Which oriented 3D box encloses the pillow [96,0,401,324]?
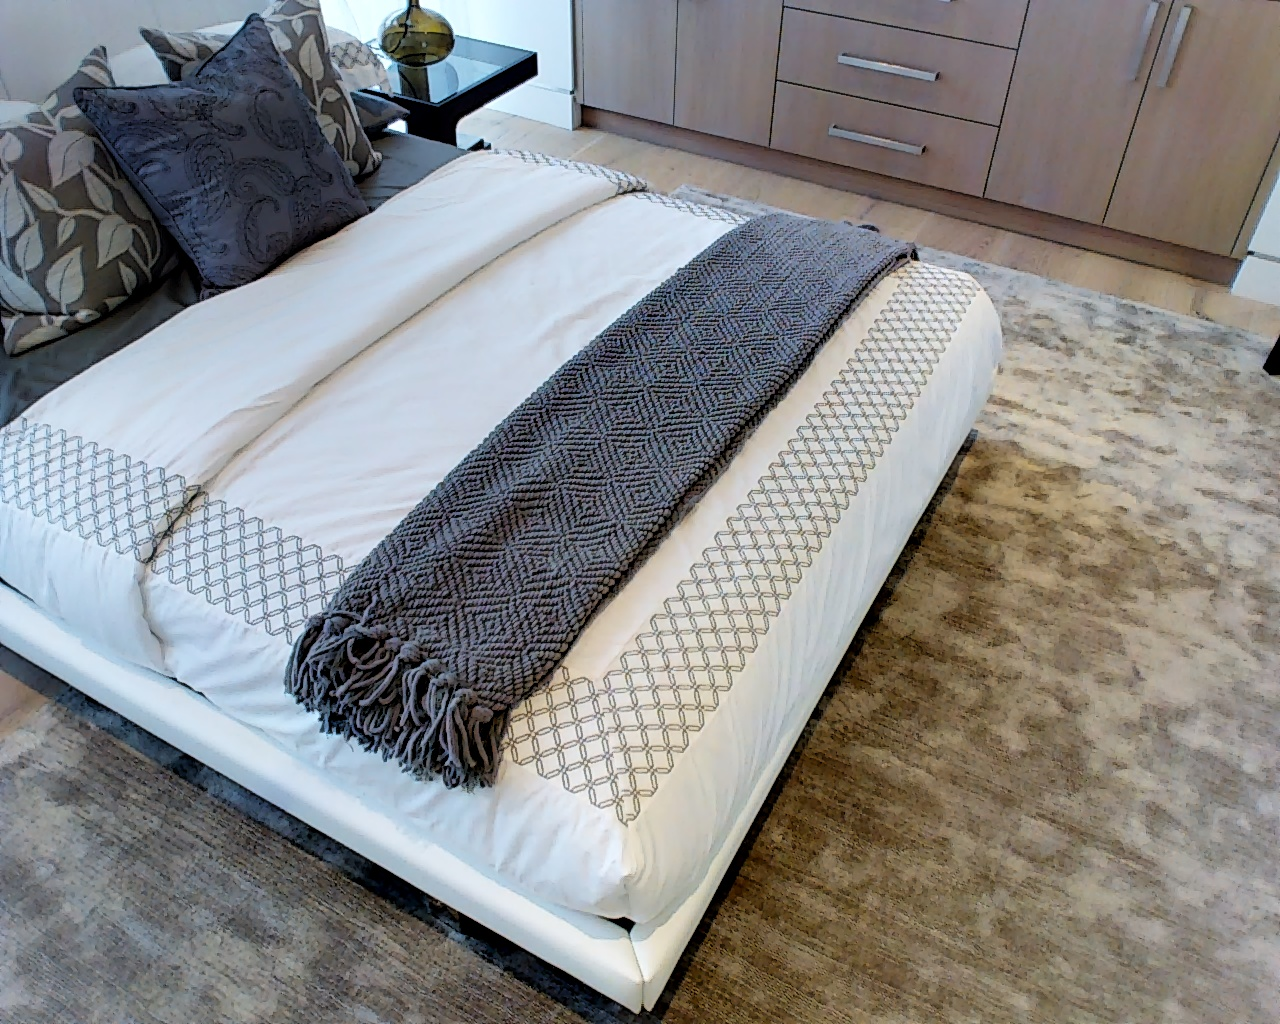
[{"bbox_3d":[-0.780,-0.720,2.140,0.270,0.460,0.480,38,49,3],"label":"pillow"}]

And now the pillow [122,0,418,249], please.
[{"bbox_3d":[-0.780,-0.900,2.370,0.280,0.410,0.490,21,45,22],"label":"pillow"}]

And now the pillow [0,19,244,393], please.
[{"bbox_3d":[-1.080,-0.590,2.060,0.290,0.440,0.540,36,49,5],"label":"pillow"}]
